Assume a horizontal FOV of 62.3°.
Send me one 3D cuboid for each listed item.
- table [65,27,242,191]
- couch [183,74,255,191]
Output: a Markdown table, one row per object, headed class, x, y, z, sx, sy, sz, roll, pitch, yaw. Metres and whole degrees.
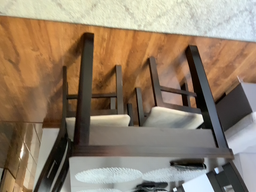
| class | x | y | z | sx | sy | sz | roll | pitch | yaw |
| --- | --- | --- | --- | --- | --- | --- | --- | --- | --- |
| table | 0.000 | 0.290 | 1.700 | 0.820 | 0.780 | 1.330 | 3 | 147 | -11 |
| couch | 1.210 | 0.470 | 2.030 | 0.850 | 0.840 | 1.030 | 3 | 147 | -11 |
